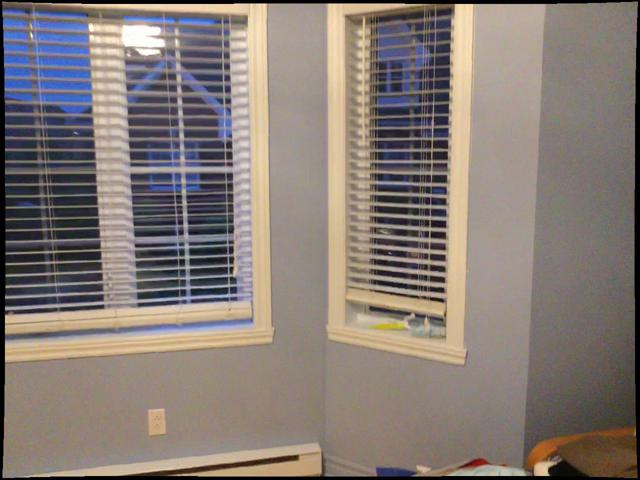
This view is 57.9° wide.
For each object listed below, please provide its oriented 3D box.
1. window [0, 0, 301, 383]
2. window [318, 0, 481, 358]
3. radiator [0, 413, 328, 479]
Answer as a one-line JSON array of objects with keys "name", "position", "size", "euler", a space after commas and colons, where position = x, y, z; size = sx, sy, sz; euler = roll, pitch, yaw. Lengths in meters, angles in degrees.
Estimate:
[{"name": "window", "position": [-0.809, -0.220, 2.330], "size": [1.419, 1.491, 0.240], "euler": [-3, 11, -12]}, {"name": "window", "position": [0.280, -0.250, 2.250], "size": [0.480, 1.281, 0.440], "euler": [-3, 11, -12]}, {"name": "radiator", "position": [-0.799, 0.961, 2.370], "size": [1.678, 0.280, 0.120], "euler": [-3, 11, -12]}]
